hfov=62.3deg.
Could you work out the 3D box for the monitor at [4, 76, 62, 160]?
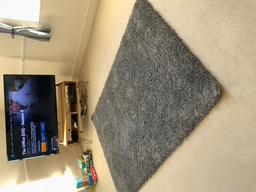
[{"bbox_3d":[-1.410,0.290,3.190,0.060,0.740,1.190,-9,85,58],"label":"monitor"}]
